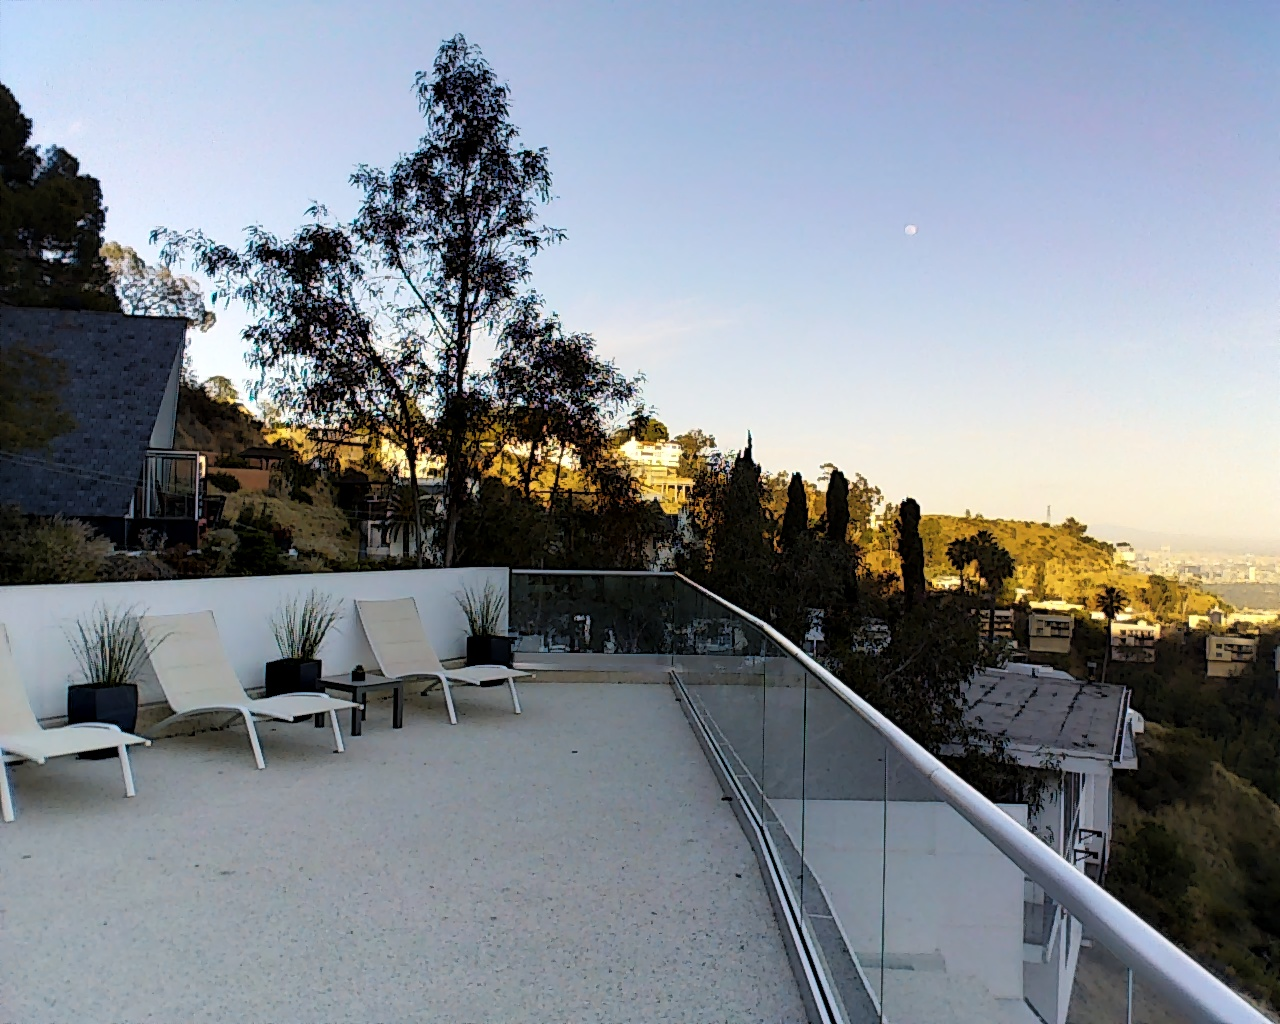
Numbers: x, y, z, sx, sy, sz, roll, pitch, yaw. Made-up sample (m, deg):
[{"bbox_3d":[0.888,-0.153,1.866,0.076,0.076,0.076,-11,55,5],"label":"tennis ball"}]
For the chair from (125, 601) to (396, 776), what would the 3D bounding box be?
[{"bbox_3d":[-2.610,1.140,7.340,1.790,0.930,0.770,1,-1,32],"label":"chair"}]
